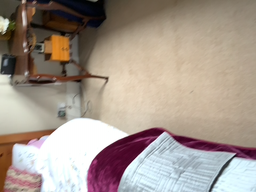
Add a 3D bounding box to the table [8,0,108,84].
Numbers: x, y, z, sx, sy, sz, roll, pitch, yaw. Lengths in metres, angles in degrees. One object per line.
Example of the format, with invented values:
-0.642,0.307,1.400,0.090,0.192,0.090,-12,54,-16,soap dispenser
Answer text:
-0.630,-0.460,1.890,0.600,0.660,0.650,-2,90,51,table
